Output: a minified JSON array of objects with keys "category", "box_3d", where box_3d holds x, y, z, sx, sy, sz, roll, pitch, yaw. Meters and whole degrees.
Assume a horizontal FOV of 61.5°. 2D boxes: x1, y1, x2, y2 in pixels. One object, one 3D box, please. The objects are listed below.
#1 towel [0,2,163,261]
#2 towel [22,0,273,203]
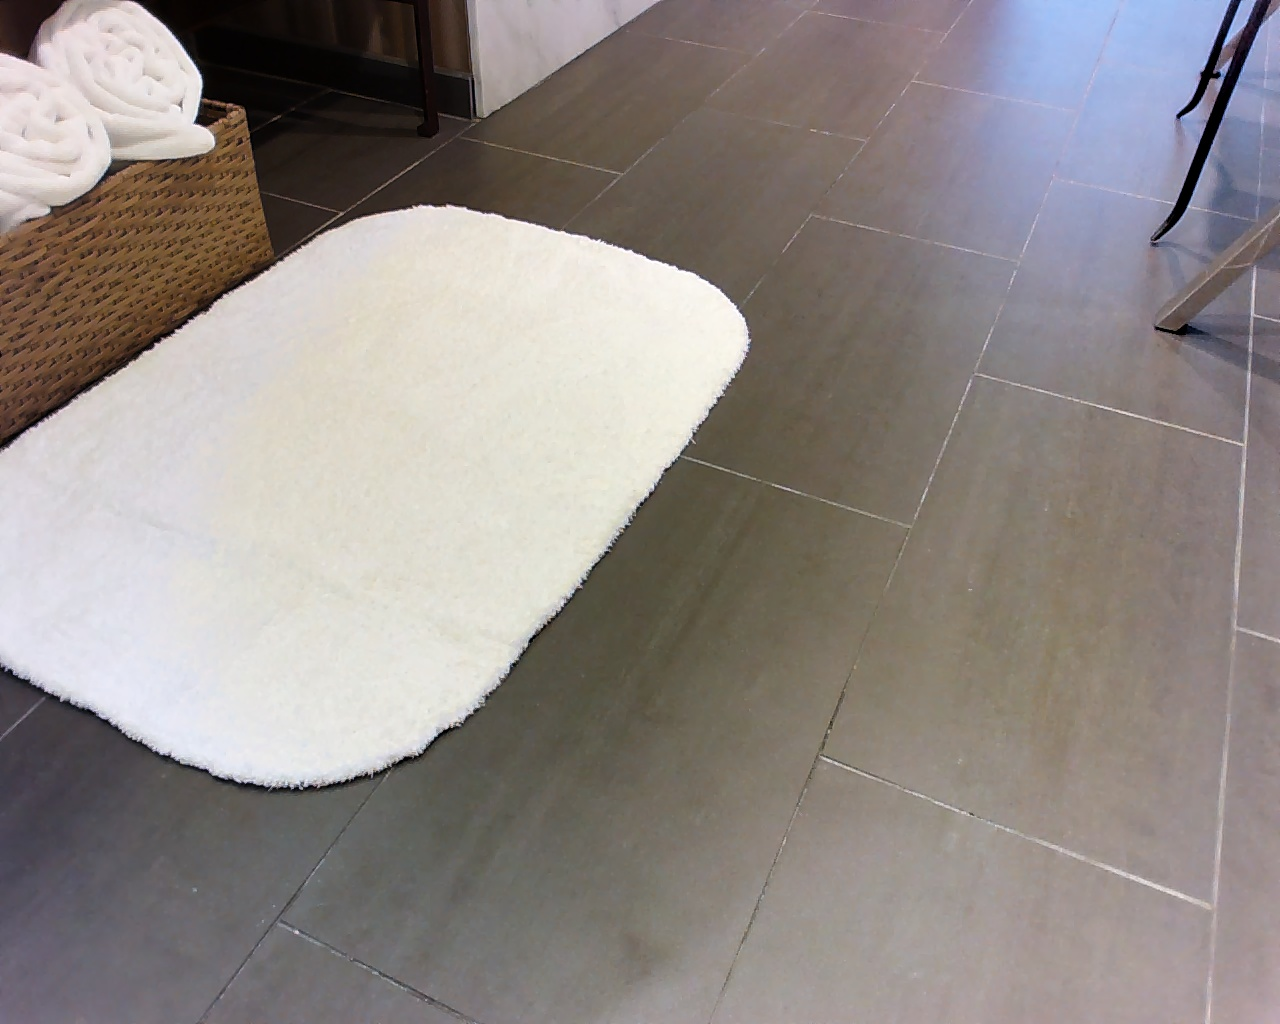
[{"category":"towel","box_3d":[-0.630,-0.390,1.090,0.130,0.170,0.200,18,45,18]},{"category":"towel","box_3d":[-0.540,-0.480,1.200,0.150,0.190,0.150,20,45,19]}]
